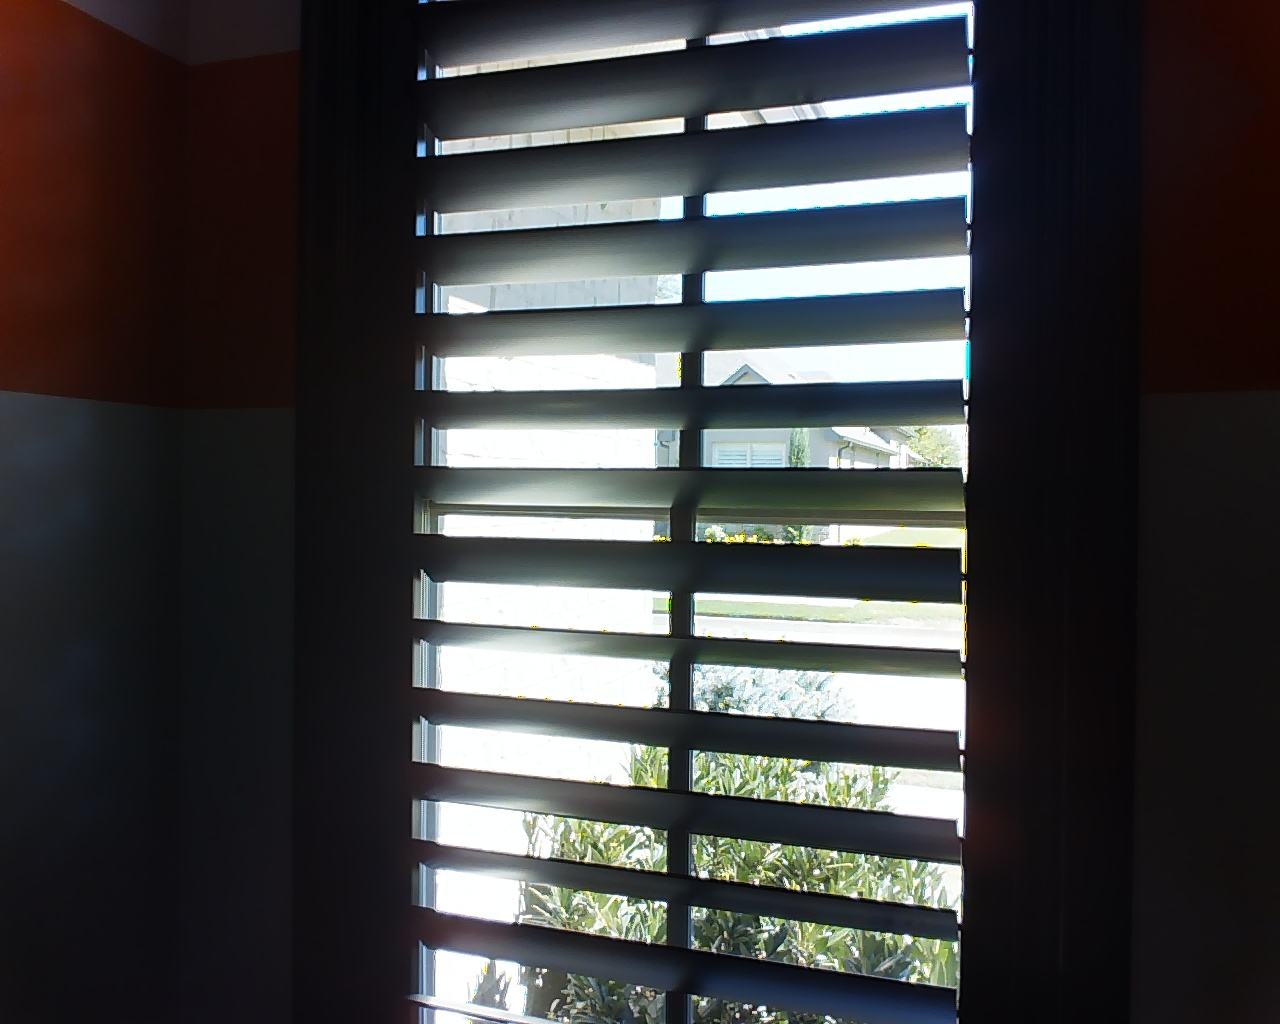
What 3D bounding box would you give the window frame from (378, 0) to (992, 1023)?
[{"bbox_3d":[0.030,0.030,1.330,0.750,1.850,0.070,1,0,19],"label":"window frame"}]
